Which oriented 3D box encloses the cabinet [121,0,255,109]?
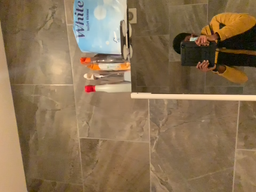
[{"bbox_3d":[0.370,-0.230,0.850,0.120,0.780,0.540,-43,-48,-70],"label":"cabinet"}]
